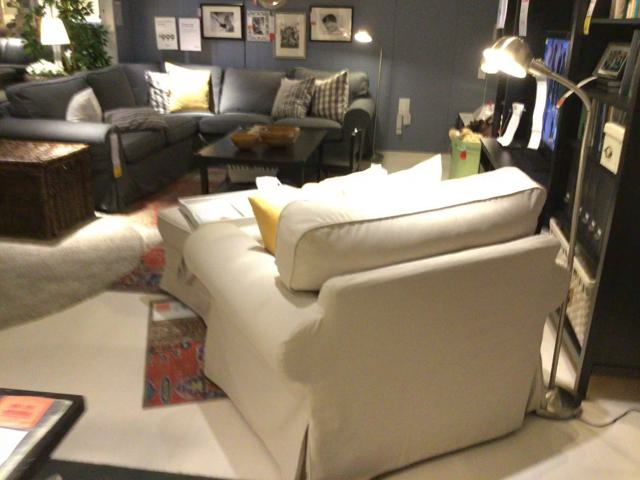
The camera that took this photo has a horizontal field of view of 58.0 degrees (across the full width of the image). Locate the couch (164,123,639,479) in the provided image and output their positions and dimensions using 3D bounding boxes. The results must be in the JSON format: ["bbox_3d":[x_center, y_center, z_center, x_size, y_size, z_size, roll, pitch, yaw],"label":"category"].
[{"bbox_3d":[0.170,0.160,1.980,1.140,0.920,0.990,-7,23,-25],"label":"couch"}]

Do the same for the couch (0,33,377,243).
[{"bbox_3d":[-1.010,-1.050,4.740,2.700,1.090,2.570,5,21,8],"label":"couch"}]
